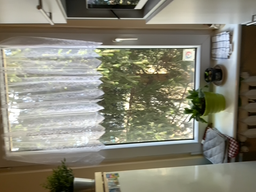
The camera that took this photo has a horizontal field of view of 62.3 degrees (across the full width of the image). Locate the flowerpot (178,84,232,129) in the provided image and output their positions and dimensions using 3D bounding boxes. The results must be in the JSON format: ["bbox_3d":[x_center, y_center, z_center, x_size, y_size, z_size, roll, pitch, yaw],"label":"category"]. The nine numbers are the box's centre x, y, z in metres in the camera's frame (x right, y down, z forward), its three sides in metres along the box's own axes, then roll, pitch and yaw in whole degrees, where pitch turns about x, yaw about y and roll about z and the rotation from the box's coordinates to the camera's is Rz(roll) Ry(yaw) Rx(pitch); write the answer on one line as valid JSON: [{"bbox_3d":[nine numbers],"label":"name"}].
[{"bbox_3d":[0.490,0.060,1.390,0.210,0.250,0.250,-139,48,-77],"label":"flowerpot"}]
